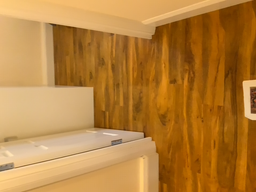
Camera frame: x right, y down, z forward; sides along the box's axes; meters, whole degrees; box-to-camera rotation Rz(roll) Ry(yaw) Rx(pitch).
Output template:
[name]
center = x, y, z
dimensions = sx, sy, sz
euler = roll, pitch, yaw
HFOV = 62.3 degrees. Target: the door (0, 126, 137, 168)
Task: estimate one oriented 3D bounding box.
[door]
center = -0.930, 0.390, 1.490
dimensions = 0.820, 1.910, 0.030
euler = -4, 90, 52
